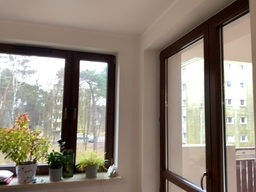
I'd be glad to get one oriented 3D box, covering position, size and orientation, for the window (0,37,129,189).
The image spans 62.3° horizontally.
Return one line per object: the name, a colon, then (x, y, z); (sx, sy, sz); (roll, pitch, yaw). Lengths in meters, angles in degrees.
window: (-0.810, 0.190, 2.440); (1.610, 1.560, 0.240); (3, -5, -15)
